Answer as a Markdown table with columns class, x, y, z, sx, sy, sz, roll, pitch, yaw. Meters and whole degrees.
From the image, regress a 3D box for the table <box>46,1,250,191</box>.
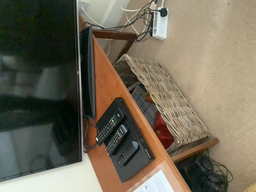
| class | x | y | z | sx | sy | sz | roll | pitch | yaw |
| --- | --- | --- | --- | --- | --- | --- | --- | --- | --- |
| table | -0.020 | 0.050 | 1.270 | 0.460 | 0.440 | 1.310 | -53 | 55 | 33 |

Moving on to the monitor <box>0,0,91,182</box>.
| class | x | y | z | sx | sy | sz | roll | pitch | yaw |
| --- | --- | --- | --- | --- | --- | --- | --- | --- | --- |
| monitor | -0.430 | -0.120 | 0.960 | 0.040 | 0.590 | 0.930 | 0 | 91 | 47 |
